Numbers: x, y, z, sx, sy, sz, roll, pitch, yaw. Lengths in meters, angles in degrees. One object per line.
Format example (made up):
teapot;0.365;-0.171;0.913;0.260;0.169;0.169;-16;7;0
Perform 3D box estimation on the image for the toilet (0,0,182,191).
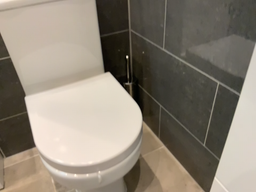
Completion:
toilet;-0.180;0.040;0.840;0.390;0.810;0.610;-19;39;-20
